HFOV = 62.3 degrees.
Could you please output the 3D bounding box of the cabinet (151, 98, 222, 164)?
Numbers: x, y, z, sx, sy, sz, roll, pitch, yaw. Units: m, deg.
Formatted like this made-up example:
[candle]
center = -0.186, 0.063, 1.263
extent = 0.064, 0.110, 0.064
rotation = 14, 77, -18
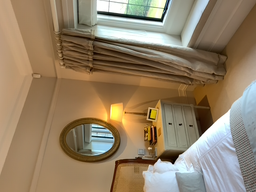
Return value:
[cabinet]
center = 0.780, 0.510, 3.060
extent = 0.480, 0.780, 0.750
rotation = 104, 169, -56
